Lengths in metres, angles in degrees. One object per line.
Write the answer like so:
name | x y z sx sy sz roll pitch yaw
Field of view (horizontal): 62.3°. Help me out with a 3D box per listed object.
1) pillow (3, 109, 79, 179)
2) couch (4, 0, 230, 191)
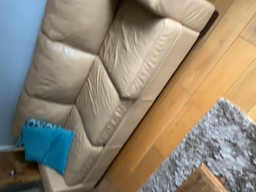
pillow | -0.820 0.480 2.090 0.150 0.490 0.520 37 155 43
couch | -0.390 -0.100 1.960 1.100 0.840 2.150 53 125 35
